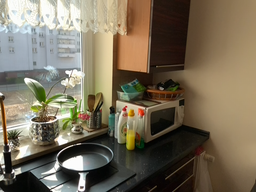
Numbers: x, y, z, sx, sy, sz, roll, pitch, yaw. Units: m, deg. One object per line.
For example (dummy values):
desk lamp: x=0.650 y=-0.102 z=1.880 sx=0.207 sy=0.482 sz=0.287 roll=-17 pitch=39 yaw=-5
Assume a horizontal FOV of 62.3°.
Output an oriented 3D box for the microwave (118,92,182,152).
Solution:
microwave: x=0.190 y=0.190 z=1.820 sx=0.360 sy=0.350 sz=0.400 roll=13 pitch=16 yaw=40
